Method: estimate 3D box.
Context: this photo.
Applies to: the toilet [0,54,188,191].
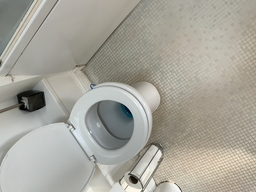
[{"bbox_3d":[-0.170,0.190,1.030,0.650,0.770,0.370,-36,88,32],"label":"toilet"}]
